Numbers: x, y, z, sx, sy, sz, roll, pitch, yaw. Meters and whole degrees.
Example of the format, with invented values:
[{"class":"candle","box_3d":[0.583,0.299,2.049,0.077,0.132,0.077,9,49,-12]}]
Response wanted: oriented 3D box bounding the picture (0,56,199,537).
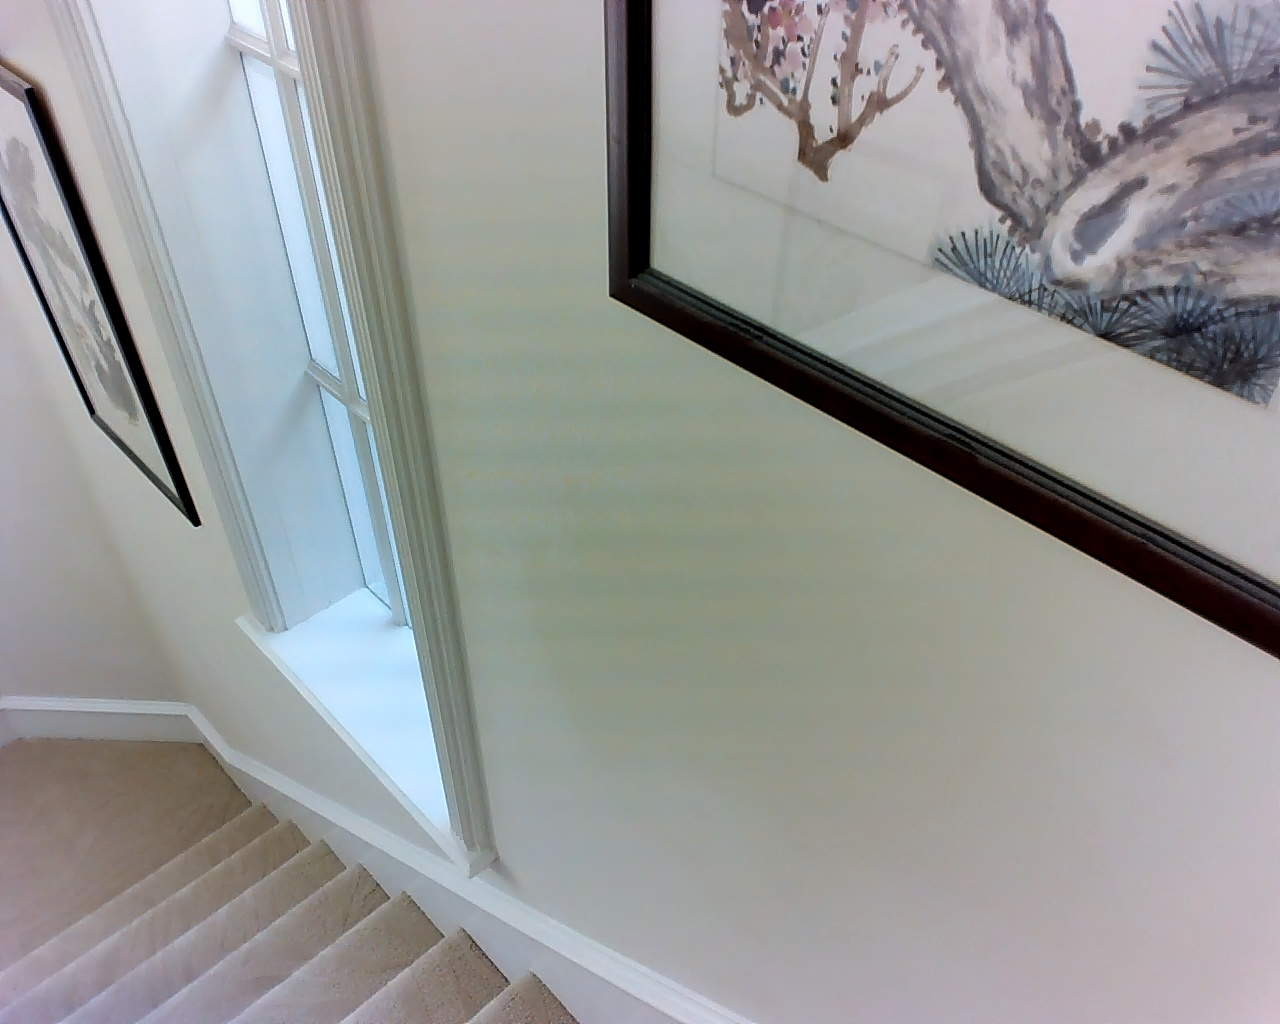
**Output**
[{"class":"picture","box_3d":[-1.120,-0.430,2.070,0.040,0.910,0.540,-32,50,-32]}]
